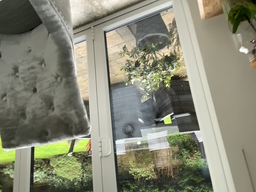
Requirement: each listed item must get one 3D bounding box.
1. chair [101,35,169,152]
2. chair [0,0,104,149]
[{"bbox_3d":[0.080,0.010,2.250,0.470,1.050,0.560,-11,160,14],"label":"chair"},{"bbox_3d":[-0.540,-0.360,0.890,0.560,1.040,0.670,-13,160,18],"label":"chair"}]
